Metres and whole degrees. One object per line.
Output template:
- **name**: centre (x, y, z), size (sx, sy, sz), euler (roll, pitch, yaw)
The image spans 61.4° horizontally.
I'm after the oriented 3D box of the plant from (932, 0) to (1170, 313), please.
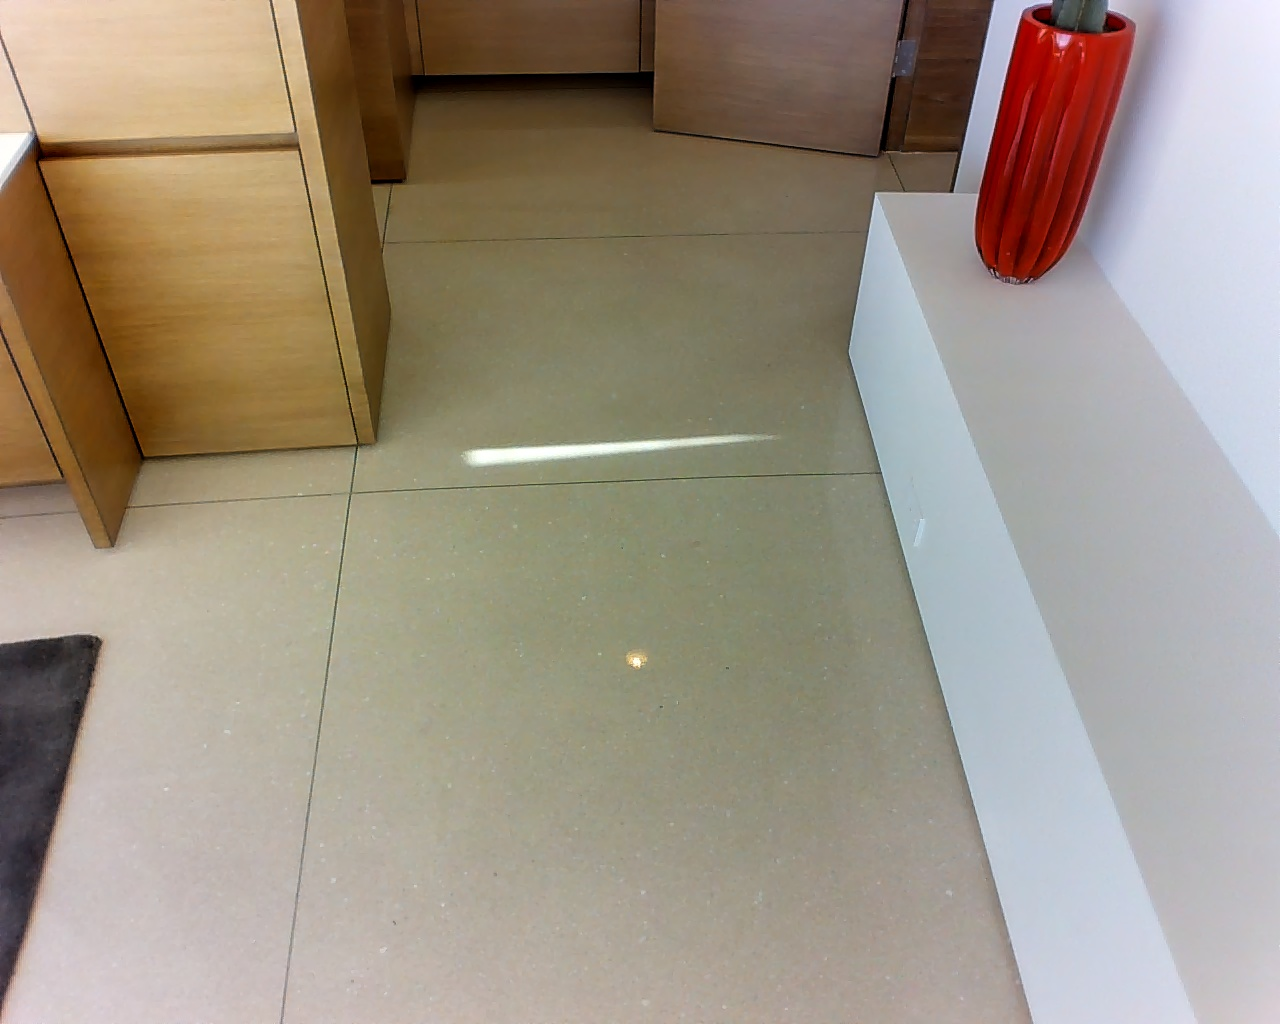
- **plant**: centre (0.770, -0.880, 1.890), size (0.220, 1.030, 0.220), euler (33, 50, 30)
